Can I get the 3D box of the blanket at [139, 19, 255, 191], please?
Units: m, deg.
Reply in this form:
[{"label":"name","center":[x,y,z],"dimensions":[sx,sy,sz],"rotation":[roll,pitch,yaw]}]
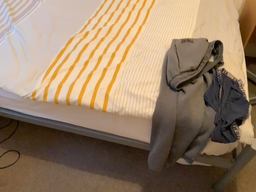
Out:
[{"label":"blanket","center":[0.300,0.020,1.040],"dimensions":[0.350,0.470,0.650],"rotation":[10,48,9]}]
